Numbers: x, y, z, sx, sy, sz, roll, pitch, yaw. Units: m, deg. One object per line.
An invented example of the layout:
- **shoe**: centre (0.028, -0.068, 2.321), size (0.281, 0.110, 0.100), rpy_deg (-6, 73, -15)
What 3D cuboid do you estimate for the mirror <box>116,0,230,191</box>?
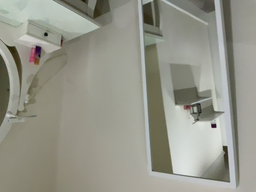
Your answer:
- **mirror**: centre (0.240, -0.330, 1.020), size (0.420, 1.780, 0.130), rpy_deg (3, 174, 40)
